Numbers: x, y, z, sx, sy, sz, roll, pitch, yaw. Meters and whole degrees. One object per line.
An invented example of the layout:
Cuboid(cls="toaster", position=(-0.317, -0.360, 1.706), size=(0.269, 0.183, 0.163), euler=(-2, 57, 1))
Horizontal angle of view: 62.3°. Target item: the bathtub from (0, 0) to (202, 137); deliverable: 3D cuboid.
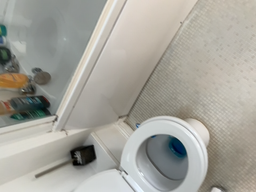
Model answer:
Cuboid(cls="bathtub", position=(-0.010, -0.680, 1.030), size=(0.680, 0.580, 1.660), euler=(44, 119, 22))
